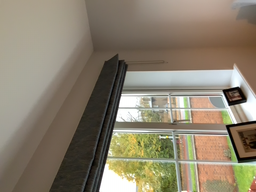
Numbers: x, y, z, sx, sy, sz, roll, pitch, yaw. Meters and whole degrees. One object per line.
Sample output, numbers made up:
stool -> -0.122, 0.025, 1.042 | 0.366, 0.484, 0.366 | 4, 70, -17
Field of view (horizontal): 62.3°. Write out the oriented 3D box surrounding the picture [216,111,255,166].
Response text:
picture -> 0.760, 0.260, 1.370 | 0.350, 0.230, 0.130 | -96, 1, -60
